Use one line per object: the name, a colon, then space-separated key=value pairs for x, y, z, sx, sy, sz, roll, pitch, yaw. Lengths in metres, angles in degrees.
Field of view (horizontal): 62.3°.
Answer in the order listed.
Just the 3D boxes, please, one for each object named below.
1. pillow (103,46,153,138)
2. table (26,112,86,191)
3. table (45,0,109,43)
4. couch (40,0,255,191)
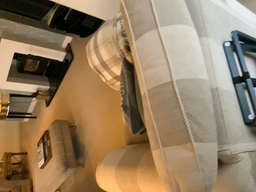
pillow: x=0.030 y=-0.010 z=1.270 sx=0.130 sy=0.400 sz=0.400 roll=4 pitch=62 yaw=18
table: x=-1.160 y=0.930 z=3.230 sx=1.220 sy=0.380 sz=0.790 roll=-49 pitch=50 yaw=36
table: x=-0.750 y=-1.200 z=2.990 sx=1.120 sy=0.420 sz=0.600 roll=0 pitch=85 yaw=52
couch: x=0.140 y=-0.010 z=1.270 sx=1.090 sy=0.930 sz=1.110 roll=-19 pitch=70 yaw=49
